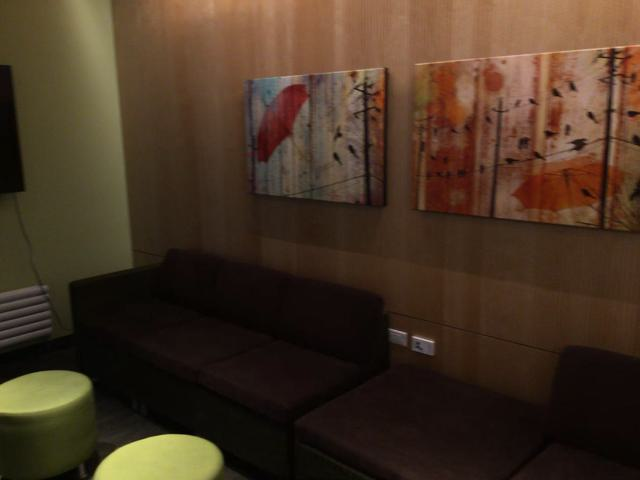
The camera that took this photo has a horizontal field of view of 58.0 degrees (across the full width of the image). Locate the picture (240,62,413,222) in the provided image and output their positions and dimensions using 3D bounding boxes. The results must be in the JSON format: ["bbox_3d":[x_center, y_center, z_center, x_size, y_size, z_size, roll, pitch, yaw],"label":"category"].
[{"bbox_3d":[-0.020,-0.510,2.880,0.990,0.690,0.110,13,14,40],"label":"picture"}]

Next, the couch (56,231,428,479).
[{"bbox_3d":[-0.520,0.530,3.050,1.910,0.780,0.860,13,14,40],"label":"couch"}]

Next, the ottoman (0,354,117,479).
[{"bbox_3d":[-1.190,0.800,2.500,0.390,0.410,0.450,13,14,40],"label":"ottoman"}]

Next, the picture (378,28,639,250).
[{"bbox_3d":[0.750,-0.410,2.230,1.160,0.720,0.080,13,14,40],"label":"picture"}]

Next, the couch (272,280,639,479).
[{"bbox_3d":[0.620,0.760,2.050,1.370,0.840,0.840,13,14,40],"label":"couch"}]
